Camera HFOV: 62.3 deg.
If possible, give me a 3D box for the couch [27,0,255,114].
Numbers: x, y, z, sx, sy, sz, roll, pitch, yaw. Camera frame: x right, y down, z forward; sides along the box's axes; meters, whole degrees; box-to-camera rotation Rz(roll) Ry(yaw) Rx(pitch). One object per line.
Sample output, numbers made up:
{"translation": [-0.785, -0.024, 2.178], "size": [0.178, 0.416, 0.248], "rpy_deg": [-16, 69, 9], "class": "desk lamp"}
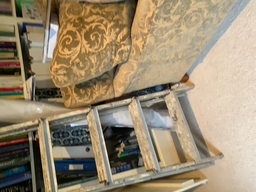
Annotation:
{"translation": [0.000, -0.610, 1.090], "size": [1.070, 0.810, 0.890], "rpy_deg": [-57, 47, 46], "class": "couch"}
